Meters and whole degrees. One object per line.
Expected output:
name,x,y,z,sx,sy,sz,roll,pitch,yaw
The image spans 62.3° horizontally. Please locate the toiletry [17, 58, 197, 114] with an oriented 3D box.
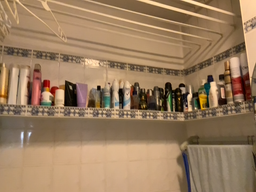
toiletry,-0.040,-0.020,1.380,1.190,0.200,0.150,6,-14,-29
